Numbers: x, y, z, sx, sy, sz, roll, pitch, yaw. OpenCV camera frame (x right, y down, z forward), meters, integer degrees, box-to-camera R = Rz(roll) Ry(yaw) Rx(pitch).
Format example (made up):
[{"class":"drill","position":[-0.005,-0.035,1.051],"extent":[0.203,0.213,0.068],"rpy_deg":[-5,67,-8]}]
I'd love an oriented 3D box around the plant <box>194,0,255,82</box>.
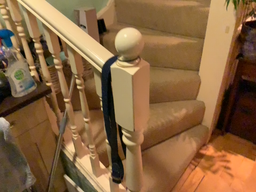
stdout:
[{"class":"plant","position":[0.750,-0.470,1.330],"extent":[0.460,0.580,0.390],"rpy_deg":[22,42,33]}]

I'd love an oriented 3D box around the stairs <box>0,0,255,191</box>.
[{"class":"stairs","position":[0.570,-1.100,1.810],"extent":[1.080,2.690,3.050],"rpy_deg":[22,42,33]}]
